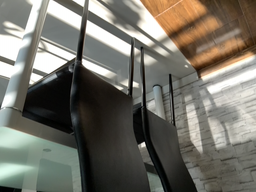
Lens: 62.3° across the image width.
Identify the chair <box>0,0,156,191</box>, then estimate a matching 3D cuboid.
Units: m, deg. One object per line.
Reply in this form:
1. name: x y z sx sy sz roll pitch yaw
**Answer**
1. chair: -0.220 0.030 0.940 0.470 0.990 0.380 -23 142 26
